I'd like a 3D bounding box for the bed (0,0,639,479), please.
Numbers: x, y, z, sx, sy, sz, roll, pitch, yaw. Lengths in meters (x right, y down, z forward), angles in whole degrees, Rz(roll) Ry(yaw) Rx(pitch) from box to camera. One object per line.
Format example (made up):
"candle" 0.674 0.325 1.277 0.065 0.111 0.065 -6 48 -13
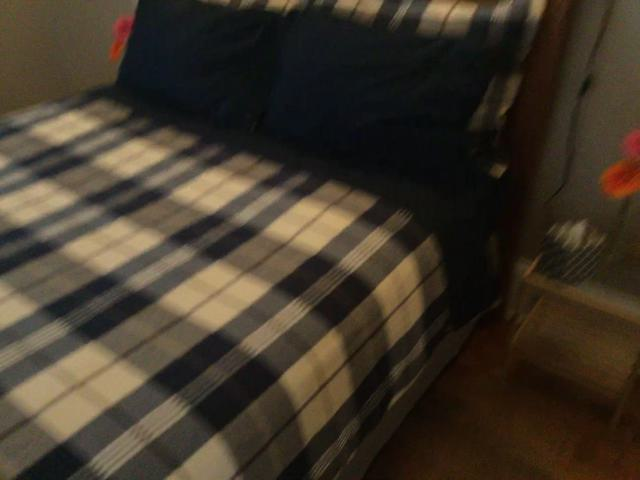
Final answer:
"bed" -0.570 -0.050 1.490 1.890 1.410 2.190 23 38 30

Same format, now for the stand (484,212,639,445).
"stand" 0.820 0.250 1.780 0.420 0.450 0.380 23 38 30
